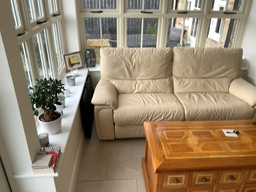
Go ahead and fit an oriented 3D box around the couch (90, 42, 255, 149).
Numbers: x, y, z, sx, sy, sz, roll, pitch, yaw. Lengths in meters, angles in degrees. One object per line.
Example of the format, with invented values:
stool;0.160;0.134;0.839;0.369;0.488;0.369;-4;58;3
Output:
couch;0.590;-0.090;2.760;2.030;0.950;1.040;-2;28;-6

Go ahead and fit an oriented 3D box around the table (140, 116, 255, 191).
table;0.740;0.580;1.880;1.190;0.540;0.600;-1;28;-4

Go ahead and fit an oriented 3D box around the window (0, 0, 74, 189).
window;-0.890;-0.650;1.850;0.260;1.560;2.190;0;28;-2
